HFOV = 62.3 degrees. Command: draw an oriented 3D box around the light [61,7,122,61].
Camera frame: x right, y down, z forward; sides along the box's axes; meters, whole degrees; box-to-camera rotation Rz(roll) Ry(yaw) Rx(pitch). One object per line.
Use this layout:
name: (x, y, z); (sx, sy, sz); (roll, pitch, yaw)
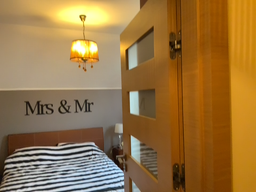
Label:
light: (-0.480, -0.790, 2.820); (0.650, 0.390, 0.420); (17, -91, -10)
